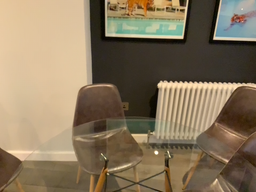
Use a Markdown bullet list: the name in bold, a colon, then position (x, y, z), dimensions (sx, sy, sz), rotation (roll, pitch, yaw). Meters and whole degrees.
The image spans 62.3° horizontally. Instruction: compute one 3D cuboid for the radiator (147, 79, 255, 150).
- **radiator**: position (0.730, 0.200, 2.130), dimensions (1.010, 0.700, 0.130), rotation (2, 23, -2)
